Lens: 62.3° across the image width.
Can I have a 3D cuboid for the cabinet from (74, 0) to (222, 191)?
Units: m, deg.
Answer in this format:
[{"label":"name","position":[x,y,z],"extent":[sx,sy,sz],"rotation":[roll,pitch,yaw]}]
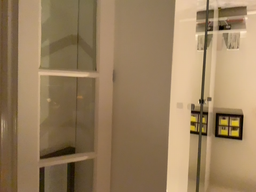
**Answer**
[{"label":"cabinet","position":[0.450,0.020,2.100],"extent":[0.580,2.370,2.160],"rotation":[4,-176,29]}]
